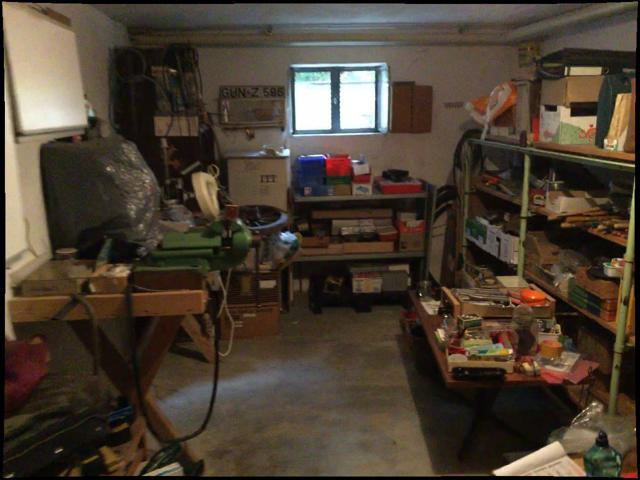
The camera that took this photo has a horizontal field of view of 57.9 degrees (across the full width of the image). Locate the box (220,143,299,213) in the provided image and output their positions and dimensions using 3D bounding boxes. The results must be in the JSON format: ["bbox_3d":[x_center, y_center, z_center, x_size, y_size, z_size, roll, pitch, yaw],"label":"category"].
[{"bbox_3d":[-0.470,-0.490,4.470,0.549,0.440,0.460,-4,15,-7],"label":"box"}]

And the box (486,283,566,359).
[{"bbox_3d":[0.899,0.350,2.560,0.200,0.210,0.320,-4,15,-7],"label":"box"}]
